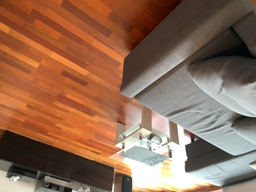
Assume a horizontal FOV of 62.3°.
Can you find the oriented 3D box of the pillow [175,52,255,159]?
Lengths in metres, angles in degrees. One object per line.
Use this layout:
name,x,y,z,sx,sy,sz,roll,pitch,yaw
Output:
pillow,0.670,0.000,1.250,0.690,0.440,0.260,-11,151,-47
